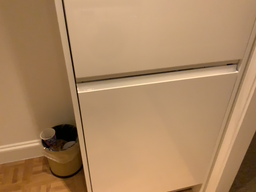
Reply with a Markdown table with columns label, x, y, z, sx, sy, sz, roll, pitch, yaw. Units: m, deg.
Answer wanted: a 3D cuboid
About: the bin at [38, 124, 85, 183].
| label | x | y | z | sx | sy | sz | roll | pitch | yaw |
| --- | --- | --- | --- | --- | --- | --- | --- | --- | --- |
| bin | -0.420 | 0.370 | 1.380 | 0.230 | 0.250 | 0.230 | -7 | 35 | -11 |
